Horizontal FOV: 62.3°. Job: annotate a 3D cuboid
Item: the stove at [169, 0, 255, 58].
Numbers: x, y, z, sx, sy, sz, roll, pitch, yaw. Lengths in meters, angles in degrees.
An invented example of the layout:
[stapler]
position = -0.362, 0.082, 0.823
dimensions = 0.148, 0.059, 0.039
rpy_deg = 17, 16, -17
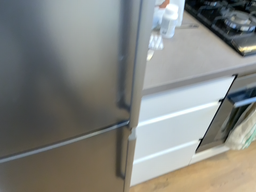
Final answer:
[stove]
position = 0.570, -0.390, 0.990
dimensions = 0.590, 0.020, 0.550
rpy_deg = -13, 48, -17
